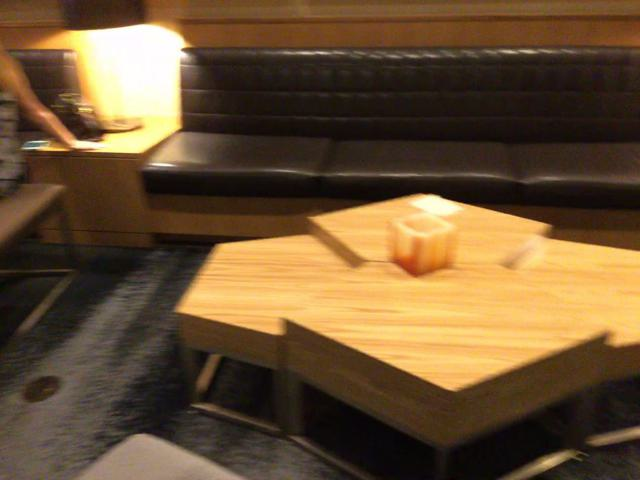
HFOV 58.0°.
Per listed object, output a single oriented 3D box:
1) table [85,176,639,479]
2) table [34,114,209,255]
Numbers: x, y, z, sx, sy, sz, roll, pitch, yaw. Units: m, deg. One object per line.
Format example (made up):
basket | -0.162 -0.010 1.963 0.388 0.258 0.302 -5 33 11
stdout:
table | 0.340 0.260 1.910 1.600 0.500 1.220 0 26 14
table | -1.040 -0.310 3.160 0.560 0.550 0.580 -4 25 15
